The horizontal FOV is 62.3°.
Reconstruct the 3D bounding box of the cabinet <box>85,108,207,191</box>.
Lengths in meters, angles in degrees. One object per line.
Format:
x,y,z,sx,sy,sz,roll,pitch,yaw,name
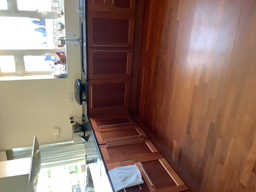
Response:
0.060,1.050,2.830,2.320,0.900,0.800,-132,42,-60,cabinet
